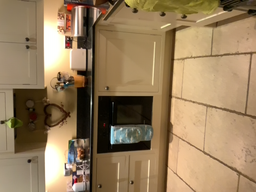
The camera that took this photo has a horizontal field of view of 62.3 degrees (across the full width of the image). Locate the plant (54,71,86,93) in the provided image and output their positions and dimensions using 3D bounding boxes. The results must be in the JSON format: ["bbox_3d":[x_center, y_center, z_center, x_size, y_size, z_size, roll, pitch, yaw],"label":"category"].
[{"bbox_3d":[-0.690,-0.170,2.520,0.160,0.350,0.240,-158,70,-71],"label":"plant"}]
